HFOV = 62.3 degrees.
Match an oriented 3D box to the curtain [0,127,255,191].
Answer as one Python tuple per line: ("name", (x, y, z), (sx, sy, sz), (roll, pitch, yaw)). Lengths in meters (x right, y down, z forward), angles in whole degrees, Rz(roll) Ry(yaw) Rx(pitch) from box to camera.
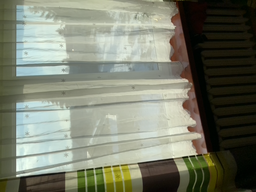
("curtain", (0.130, 0.680, 1.300), (0.130, 2.650, 0.800), (132, 133, -71))
